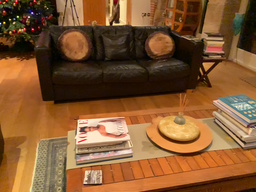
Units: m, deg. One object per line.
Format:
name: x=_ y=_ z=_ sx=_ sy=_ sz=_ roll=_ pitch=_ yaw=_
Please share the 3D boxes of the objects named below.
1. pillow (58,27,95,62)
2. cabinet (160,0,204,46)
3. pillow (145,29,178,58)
pillow: x=-0.650 y=-0.650 z=2.670 sx=0.400 sy=0.390 sz=0.150 roll=-7 pitch=6 yaw=-16
cabinet: x=1.330 y=-2.100 z=5.420 sx=0.490 sy=1.310 sz=1.220 roll=-4 pitch=28 yaw=-13
pillow: x=0.460 y=-0.730 z=2.940 sx=0.380 sy=0.350 sz=0.120 roll=-8 pitch=-3 yaw=-16
